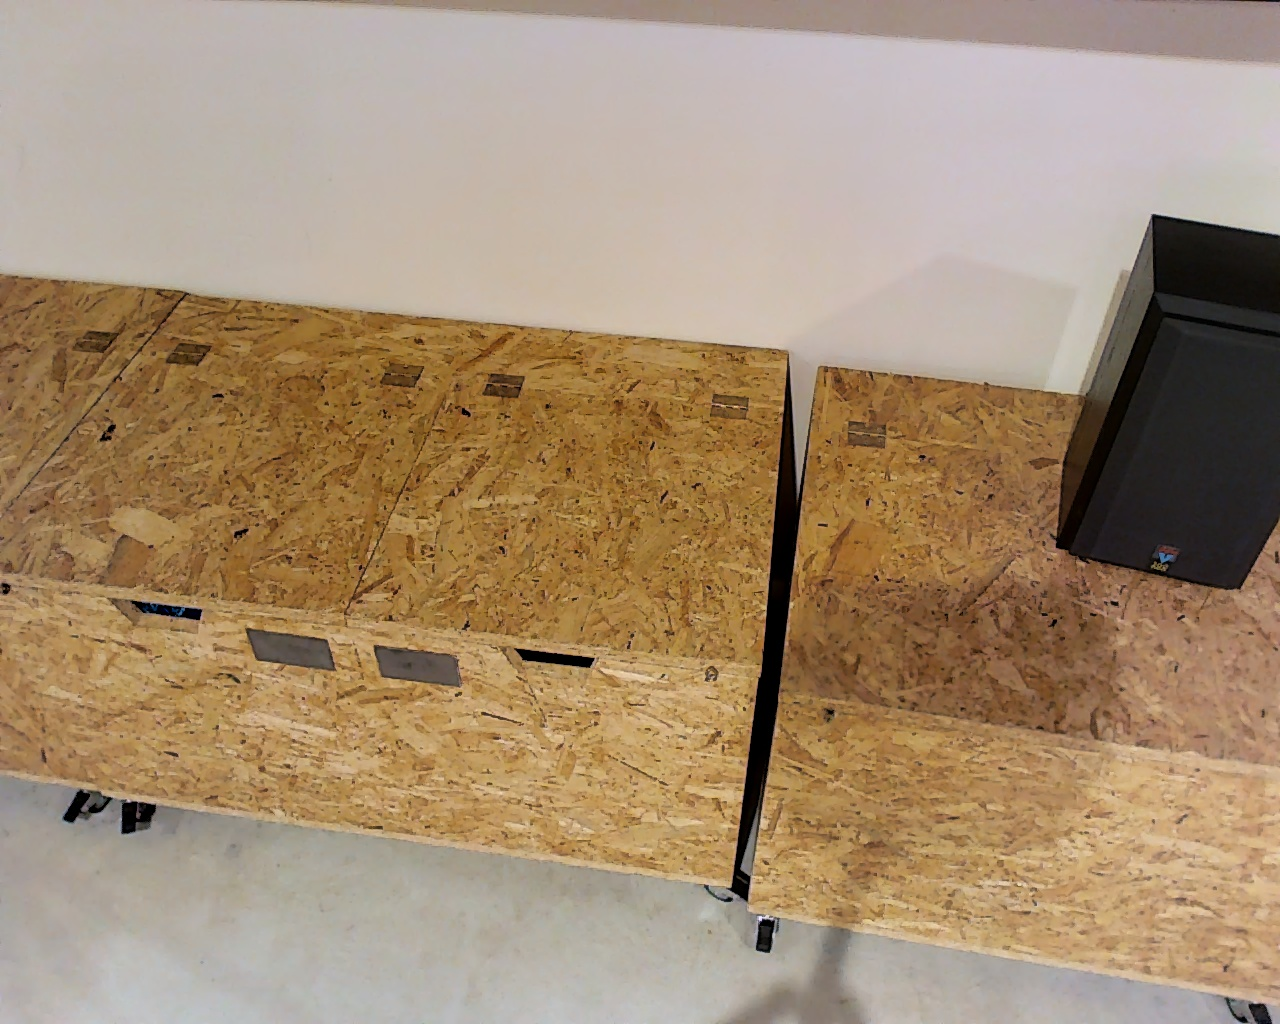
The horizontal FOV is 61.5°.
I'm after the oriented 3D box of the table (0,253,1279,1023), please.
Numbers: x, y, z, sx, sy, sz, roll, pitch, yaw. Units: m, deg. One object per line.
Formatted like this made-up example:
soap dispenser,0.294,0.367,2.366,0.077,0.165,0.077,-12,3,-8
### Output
table,-0.270,0.140,1.590,4.568,0.600,0.730,6,44,6
